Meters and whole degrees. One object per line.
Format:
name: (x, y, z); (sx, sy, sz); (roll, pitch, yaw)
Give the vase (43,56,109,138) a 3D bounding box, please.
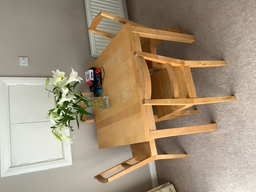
vase: (-0.510, 0.030, 1.980); (0.470, 0.440, 0.630); (-26, 70, 58)
